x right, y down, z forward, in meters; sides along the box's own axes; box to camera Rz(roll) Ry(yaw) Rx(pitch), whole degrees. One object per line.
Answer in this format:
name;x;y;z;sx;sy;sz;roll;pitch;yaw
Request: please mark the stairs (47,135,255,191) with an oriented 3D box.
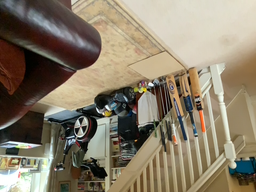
stairs;0.280;1.490;3.100;3.970;0.870;0.780;-21;114;31
